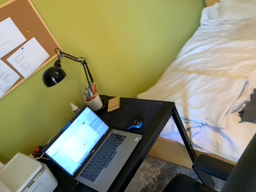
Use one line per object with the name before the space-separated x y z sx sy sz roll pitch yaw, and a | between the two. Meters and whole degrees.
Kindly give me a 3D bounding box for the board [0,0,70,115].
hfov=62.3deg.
board | -0.670 -0.260 1.180 0.070 0.480 0.570 3 43 42
